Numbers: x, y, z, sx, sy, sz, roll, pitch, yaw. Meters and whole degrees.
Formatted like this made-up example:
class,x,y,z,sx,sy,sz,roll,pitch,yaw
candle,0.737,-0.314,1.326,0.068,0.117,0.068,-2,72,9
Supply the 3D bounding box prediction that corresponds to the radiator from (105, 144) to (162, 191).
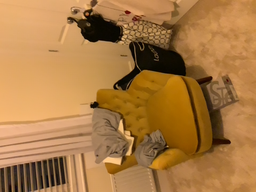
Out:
class,x,y,z,sx,sy,sz,roll,pitch,yaw
radiator,0.060,0.720,2.040,0.120,0.480,0.420,-33,64,56
